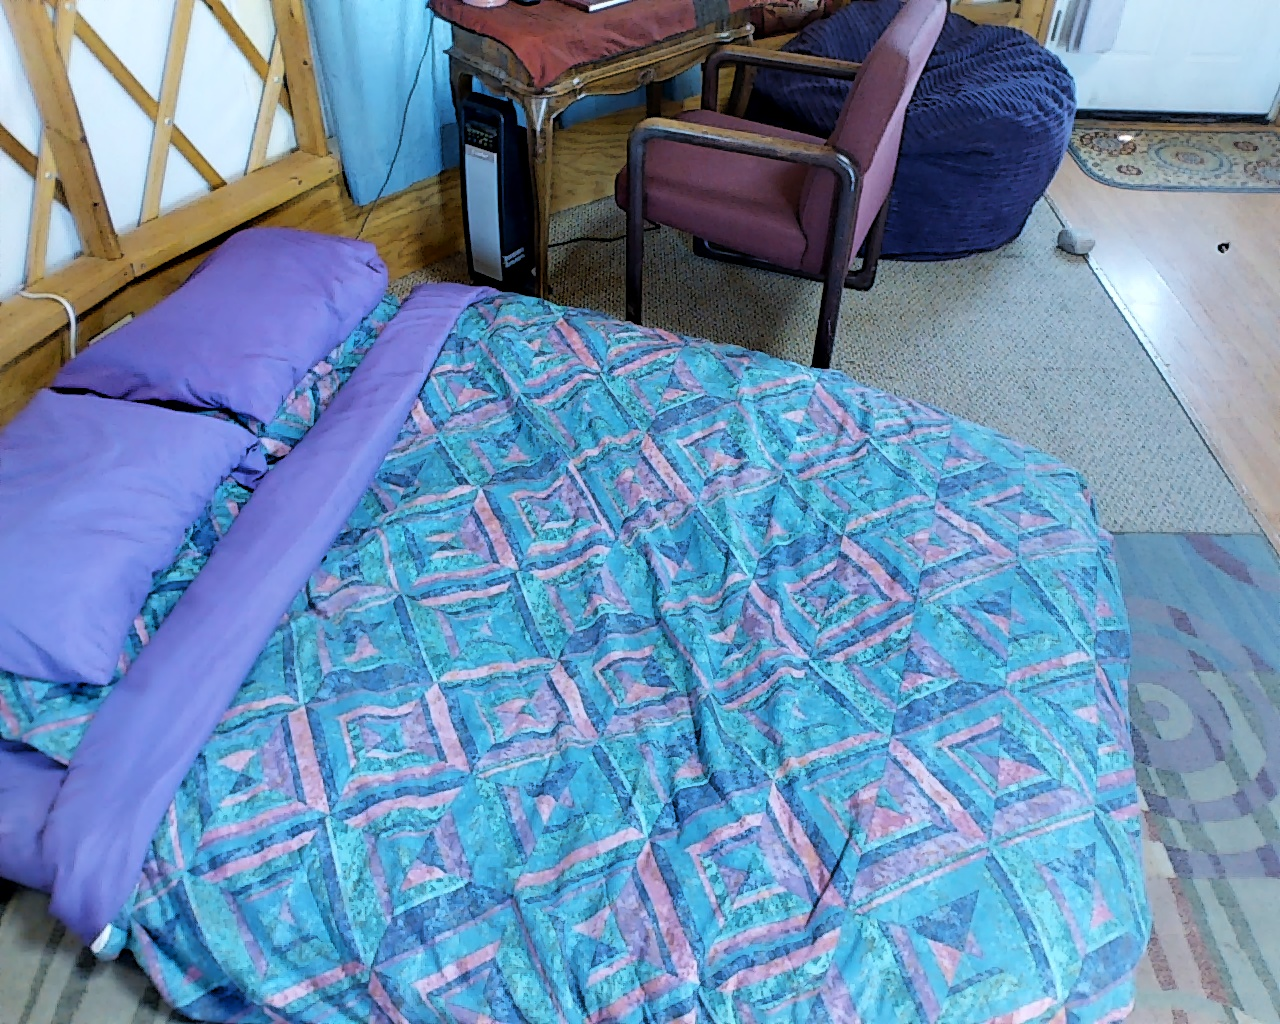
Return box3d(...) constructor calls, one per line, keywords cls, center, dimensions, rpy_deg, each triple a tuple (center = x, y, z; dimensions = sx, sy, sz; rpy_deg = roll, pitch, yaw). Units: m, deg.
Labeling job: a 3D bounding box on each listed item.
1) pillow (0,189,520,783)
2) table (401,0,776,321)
box3d(cls="pillow", center=(-0.880, -0.190, 2.080), dimensions=(0.650, 0.210, 1.390), rpy_deg=(19, 44, 19))
box3d(cls="table", center=(-0.120, -1.120, 3.040), dimensions=(0.510, 0.750, 0.870), rpy_deg=(34, 51, 32))
